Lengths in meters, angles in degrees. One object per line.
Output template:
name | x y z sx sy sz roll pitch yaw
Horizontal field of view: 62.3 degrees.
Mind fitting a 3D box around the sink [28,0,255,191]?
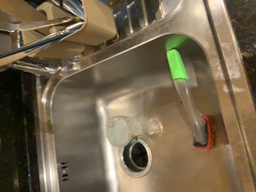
sink | 0.040 0.160 0.500 0.520 0.230 0.520 -16 76 30
